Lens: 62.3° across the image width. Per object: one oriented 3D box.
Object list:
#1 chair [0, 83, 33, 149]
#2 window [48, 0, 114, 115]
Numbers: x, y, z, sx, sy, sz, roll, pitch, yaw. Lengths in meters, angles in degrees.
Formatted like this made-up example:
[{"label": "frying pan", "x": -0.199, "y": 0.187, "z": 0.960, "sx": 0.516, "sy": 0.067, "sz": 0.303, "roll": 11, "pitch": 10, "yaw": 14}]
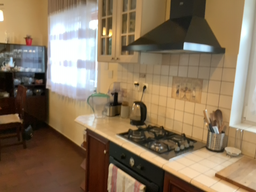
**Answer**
[{"label": "chair", "x": -1.960, "y": 0.300, "z": 3.550, "sx": 0.580, "sy": 0.960, "sz": 0.560, "roll": -2, "pitch": 11, "yaw": -31}, {"label": "window", "x": -0.860, "y": -0.790, "z": 3.460, "sx": 0.270, "sy": 1.860, "sz": 1.660, "roll": -5, "pitch": 12, "yaw": -40}]
